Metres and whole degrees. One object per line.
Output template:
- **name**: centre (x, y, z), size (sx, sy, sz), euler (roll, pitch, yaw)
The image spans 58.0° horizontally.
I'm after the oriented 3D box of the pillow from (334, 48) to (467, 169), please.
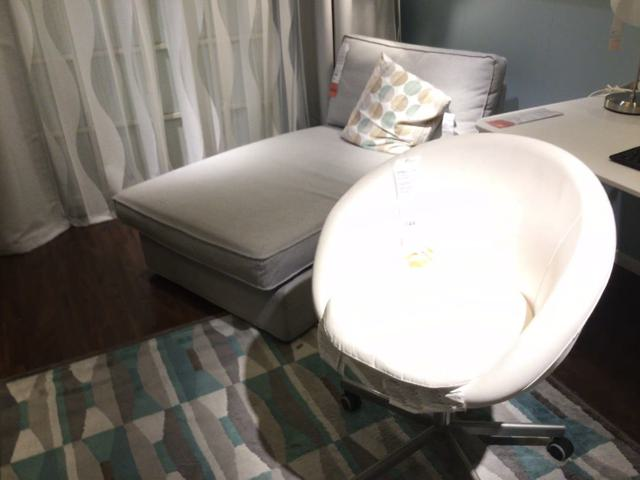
- **pillow**: centre (0.360, -0.640, 2.730), size (0.390, 0.410, 0.490), euler (-15, 30, -24)
